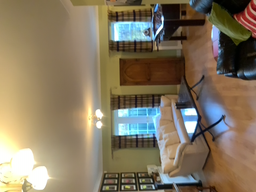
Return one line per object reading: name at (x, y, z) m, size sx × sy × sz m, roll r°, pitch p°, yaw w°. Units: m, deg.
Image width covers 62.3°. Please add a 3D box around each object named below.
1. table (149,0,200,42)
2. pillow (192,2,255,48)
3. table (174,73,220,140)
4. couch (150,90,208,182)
table at (1.050, -1.960, 5.210) m, size 1.640 × 0.840 × 0.860 m, roll -159°, pitch 67°, yaw -88°
pillow at (0.990, -0.700, 2.180) m, size 0.440 × 0.490 × 0.160 m, roll 11°, pitch -104°, yaw -46°
table at (1.350, 0.180, 4.400) m, size 1.230 × 0.460 × 0.720 m, roll -93°, pitch 3°, yaw -48°
couch at (1.140, 0.920, 5.440) m, size 2.100 × 0.860 × 1.130 m, roll -93°, pitch 3°, yaw -53°
